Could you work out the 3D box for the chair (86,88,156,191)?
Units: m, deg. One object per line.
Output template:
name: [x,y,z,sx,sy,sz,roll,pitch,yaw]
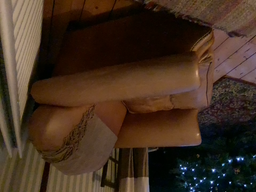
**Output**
chair: [-0.050,0.420,2.030,0.490,0.830,0.390,-11,148,17]
